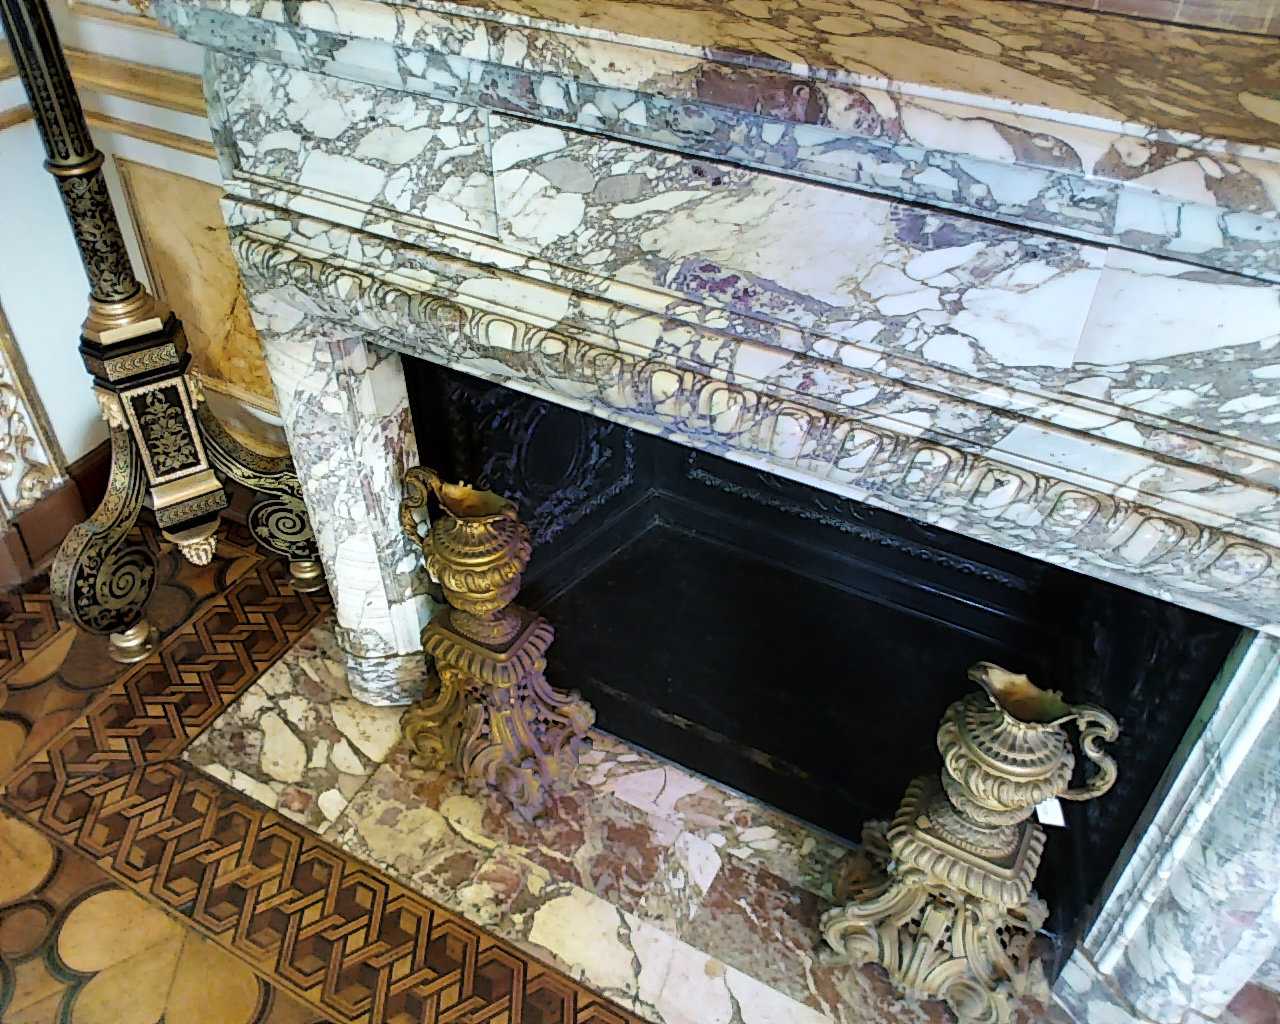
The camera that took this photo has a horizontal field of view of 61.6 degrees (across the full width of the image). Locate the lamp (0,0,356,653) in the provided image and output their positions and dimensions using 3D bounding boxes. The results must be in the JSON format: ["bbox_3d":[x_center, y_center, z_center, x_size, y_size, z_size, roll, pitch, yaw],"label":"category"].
[{"bbox_3d":[-0.930,-0.670,1.780,0.390,2.140,0.370,19,45,21],"label":"lamp"}]
